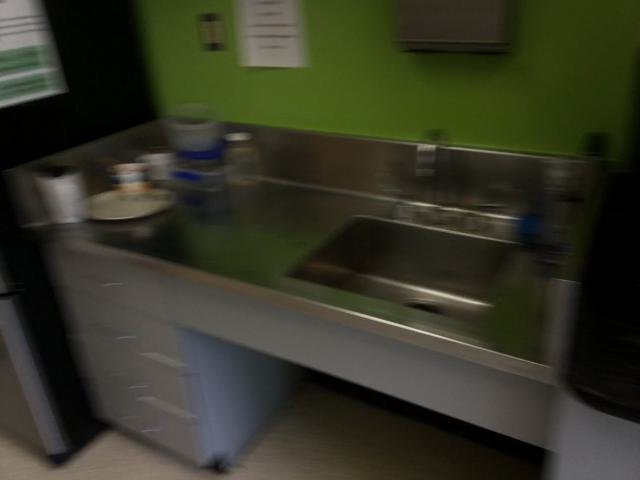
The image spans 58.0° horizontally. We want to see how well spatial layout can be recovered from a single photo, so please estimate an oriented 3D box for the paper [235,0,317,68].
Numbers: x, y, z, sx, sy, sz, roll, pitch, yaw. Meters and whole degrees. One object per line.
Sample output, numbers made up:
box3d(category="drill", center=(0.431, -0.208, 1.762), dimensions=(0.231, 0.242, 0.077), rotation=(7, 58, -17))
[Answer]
box3d(category="paper", center=(-0.130, -0.650, 1.670), dimensions=(0.240, 0.280, 0.050), rotation=(12, 29, 28))
